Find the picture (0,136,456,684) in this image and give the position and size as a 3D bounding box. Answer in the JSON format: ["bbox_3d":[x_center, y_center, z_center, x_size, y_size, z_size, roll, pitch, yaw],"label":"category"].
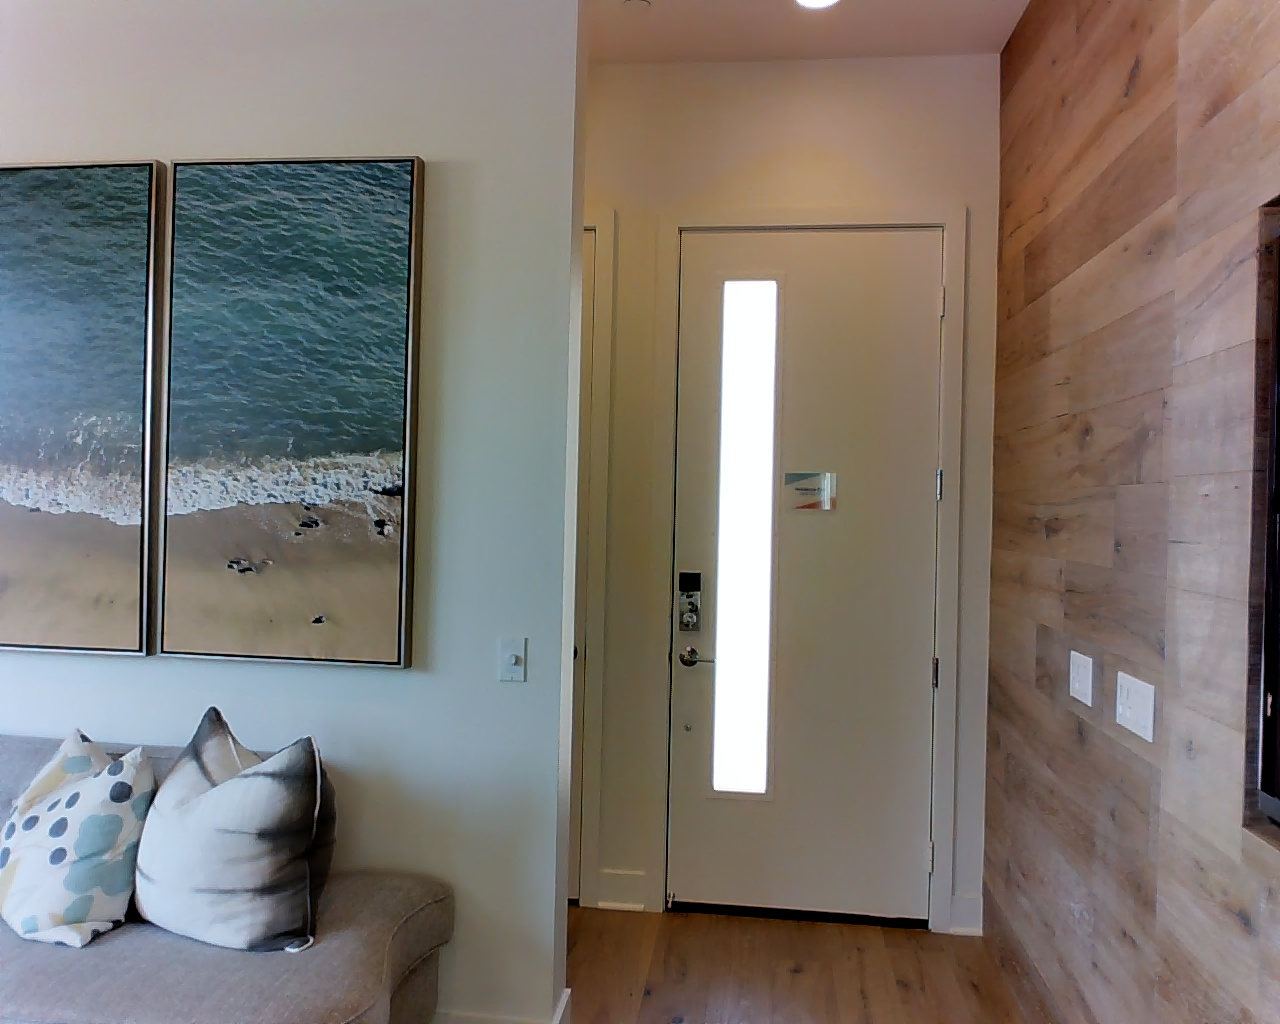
[{"bbox_3d":[-1.579,-0.290,2.890,2.159,1.391,0.090,2,0,7],"label":"picture"}]

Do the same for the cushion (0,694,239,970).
[{"bbox_3d":[-1.249,0.730,2.450,0.480,0.450,0.260,-25,-4,29],"label":"cushion"}]

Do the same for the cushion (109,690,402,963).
[{"bbox_3d":[-0.860,0.700,2.410,0.450,0.450,0.280,-18,-3,21],"label":"cushion"}]
